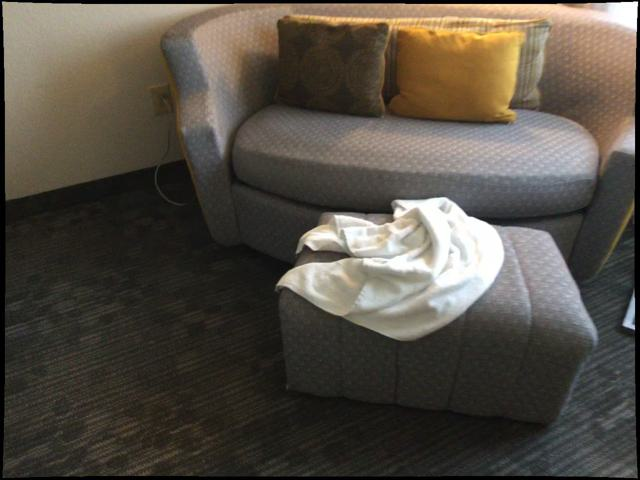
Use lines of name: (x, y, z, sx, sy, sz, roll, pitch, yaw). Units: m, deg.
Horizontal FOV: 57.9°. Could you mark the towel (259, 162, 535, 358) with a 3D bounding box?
towel: (0.230, 0.020, 1.630, 0.659, 0.170, 0.520, 8, 38, 11)
